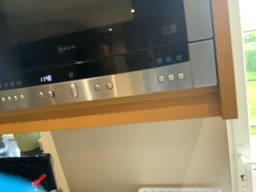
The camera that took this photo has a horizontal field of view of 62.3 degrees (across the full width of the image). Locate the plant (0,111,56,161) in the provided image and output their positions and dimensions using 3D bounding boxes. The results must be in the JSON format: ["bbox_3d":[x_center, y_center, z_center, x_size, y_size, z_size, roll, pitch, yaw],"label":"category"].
[{"bbox_3d":[-0.460,0.180,0.990,0.130,0.170,0.170,-7,9,14],"label":"plant"}]
